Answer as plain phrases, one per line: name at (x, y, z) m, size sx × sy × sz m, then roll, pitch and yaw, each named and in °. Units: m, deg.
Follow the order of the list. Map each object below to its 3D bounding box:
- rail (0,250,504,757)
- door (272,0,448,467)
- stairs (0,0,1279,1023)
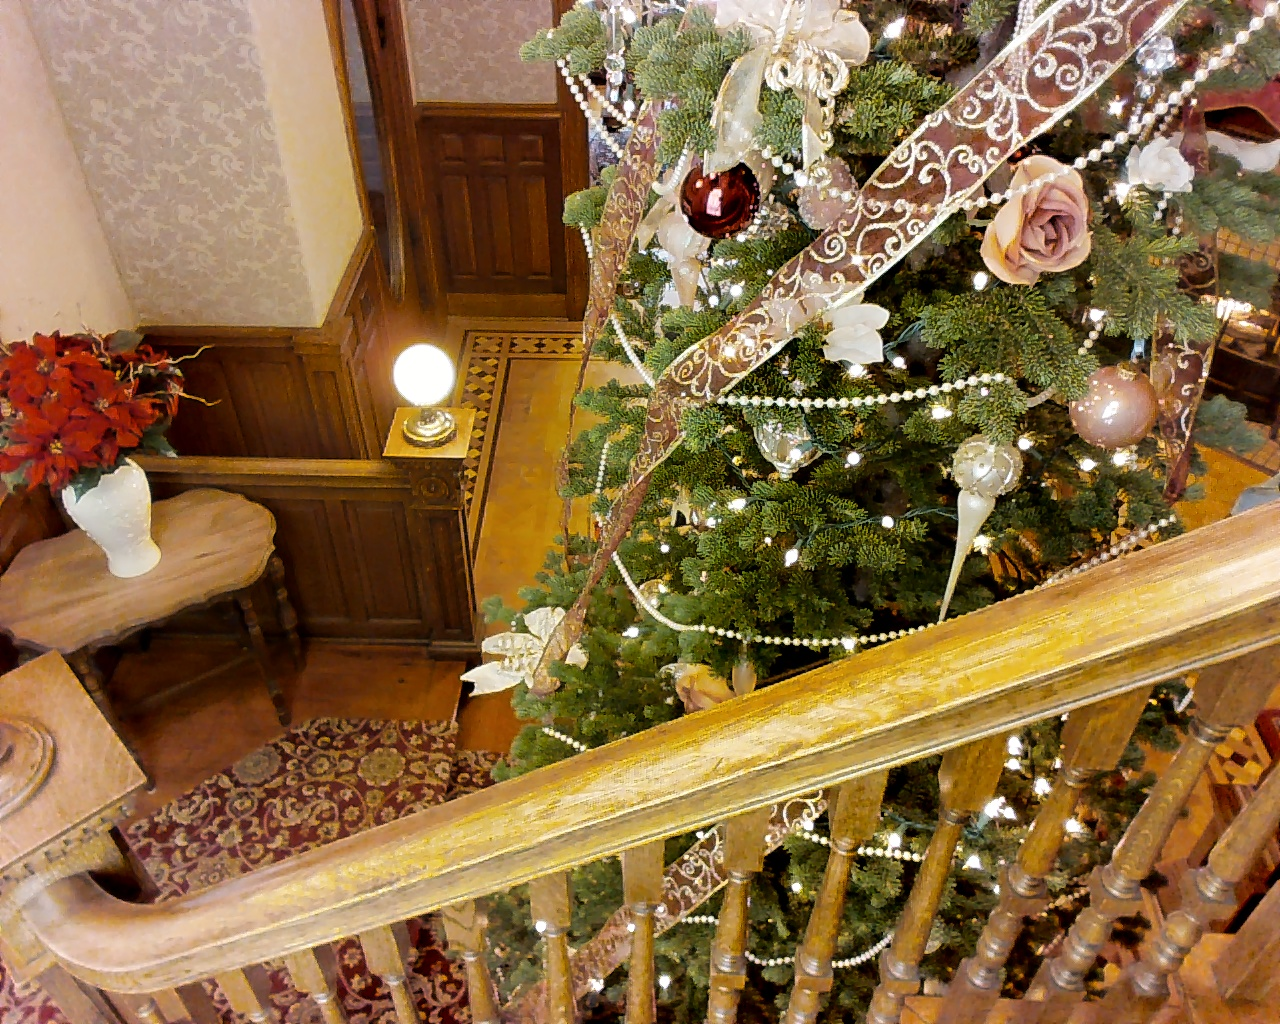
rail at (-1.190, 0.100, 3.560) m, size 1.290 × 1.960 × 0.300 m, roll 1°, pitch 42°, yaw 1°
door at (-1.230, -1.550, 5.010) m, size 0.200 × 2.510 × 1.180 m, roll 1°, pitch 42°, yaw 1°
stairs at (-0.010, 0.650, 1.910) m, size 3.740 × 3.080 × 3.100 m, roll 1°, pitch 42°, yaw 1°
